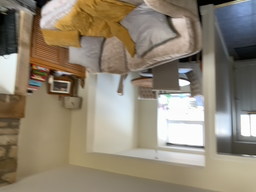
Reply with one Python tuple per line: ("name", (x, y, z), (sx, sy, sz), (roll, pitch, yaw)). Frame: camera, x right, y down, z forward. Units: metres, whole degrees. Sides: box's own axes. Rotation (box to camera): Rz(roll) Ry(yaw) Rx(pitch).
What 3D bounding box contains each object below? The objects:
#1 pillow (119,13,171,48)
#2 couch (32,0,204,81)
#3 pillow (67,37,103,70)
("pillow", (0.160, -0.650, 2.140), (0.530, 0.290, 0.150), (9, -158, 42))
("couch", (-0.200, -0.790, 2.460), (1.760, 0.910, 1.040), (-4, 172, 45))
("pillow", (-0.580, -0.560, 2.840), (0.460, 0.400, 0.180), (5, -165, 38))
